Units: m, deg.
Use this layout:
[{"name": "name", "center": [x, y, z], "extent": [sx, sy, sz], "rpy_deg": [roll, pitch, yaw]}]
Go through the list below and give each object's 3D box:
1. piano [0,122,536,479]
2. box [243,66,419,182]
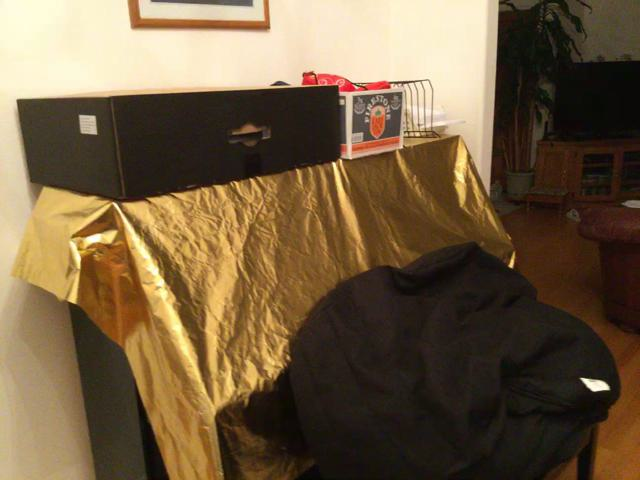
[{"name": "piano", "center": [0.050, 0.310, 1.900], "extent": [0.640, 1.210, 1.640], "rpy_deg": [10, 21, 41]}, {"name": "box", "center": [0.040, -0.410, 2.010], "extent": [0.490, 0.330, 0.340], "rpy_deg": [10, 21, 41]}]
